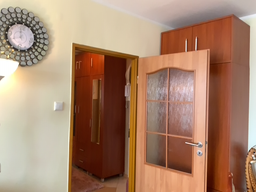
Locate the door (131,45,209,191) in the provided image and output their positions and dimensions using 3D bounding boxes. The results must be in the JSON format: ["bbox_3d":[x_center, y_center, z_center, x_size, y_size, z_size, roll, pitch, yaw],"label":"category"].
[{"bbox_3d":[0.420,0.510,2.320,0.810,2.020,0.130,2,0,38],"label":"door"}]
